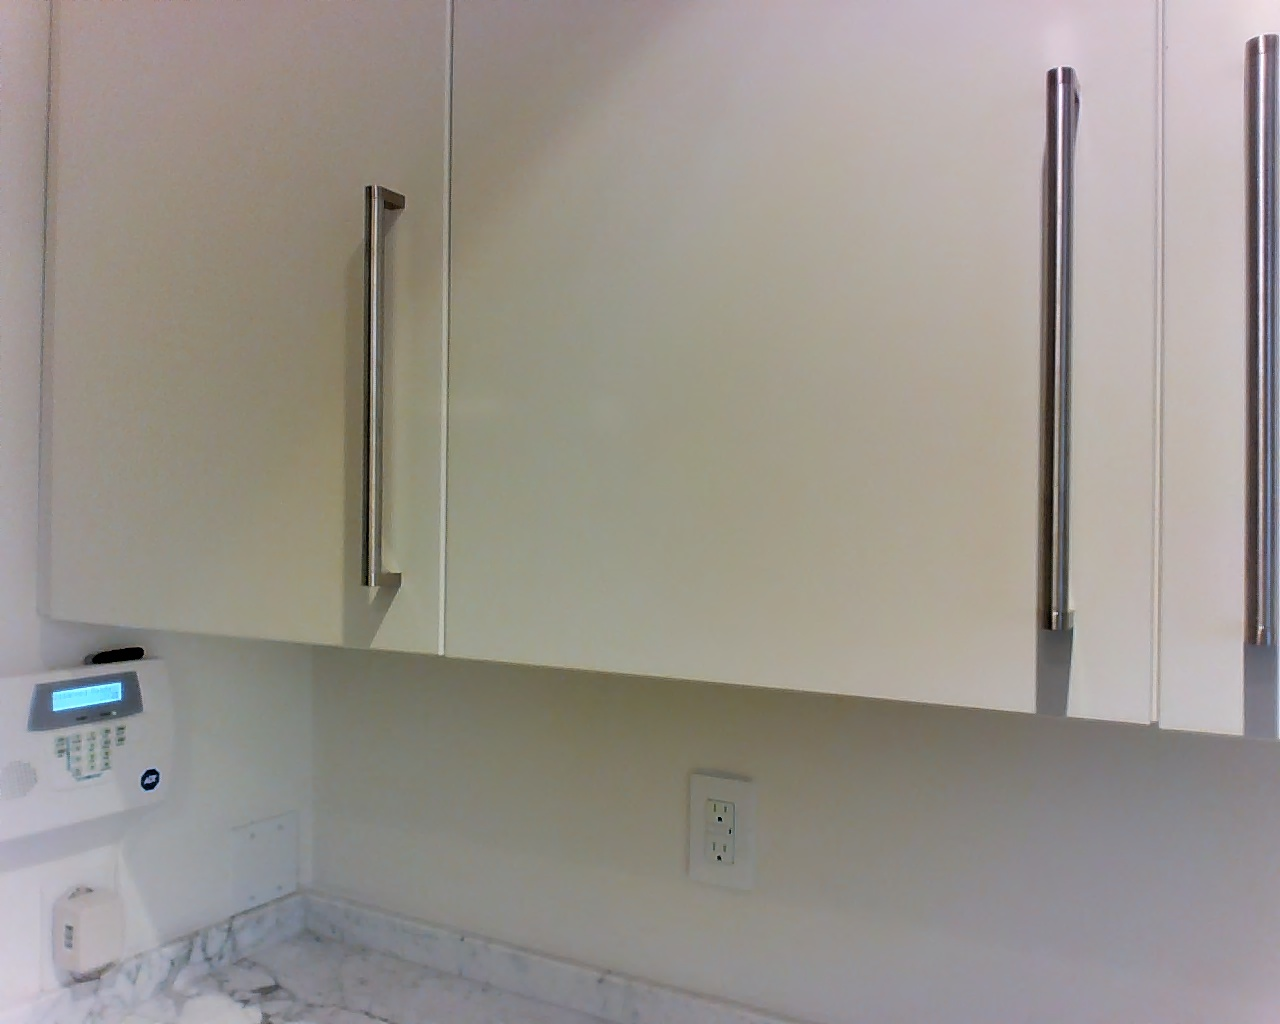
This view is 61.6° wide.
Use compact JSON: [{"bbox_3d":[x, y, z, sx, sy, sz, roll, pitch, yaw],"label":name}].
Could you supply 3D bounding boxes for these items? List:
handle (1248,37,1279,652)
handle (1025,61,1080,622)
[{"bbox_3d":[0.350,-0.090,0.590,0.020,0.330,0.030,1,1,30],"label":"handle"},{"bbox_3d":[0.250,-0.100,0.650,0.020,0.330,0.030,1,1,29],"label":"handle"}]
